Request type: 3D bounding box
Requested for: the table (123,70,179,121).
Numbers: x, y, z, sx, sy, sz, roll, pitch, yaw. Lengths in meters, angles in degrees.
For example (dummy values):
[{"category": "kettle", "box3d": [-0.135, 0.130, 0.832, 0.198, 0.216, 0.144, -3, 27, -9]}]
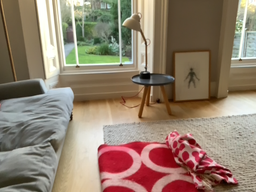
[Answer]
[{"category": "table", "box3d": [0.240, -0.030, 2.480, 0.510, 0.420, 0.510, -4, 19, -9]}]
